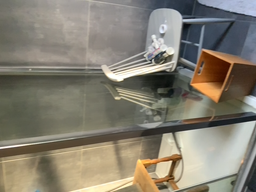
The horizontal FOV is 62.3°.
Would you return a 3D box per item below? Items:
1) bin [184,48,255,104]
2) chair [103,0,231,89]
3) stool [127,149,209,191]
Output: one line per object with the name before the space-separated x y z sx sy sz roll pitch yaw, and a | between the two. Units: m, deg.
bin | 0.610 -0.140 1.390 0.320 0.280 0.260 -136 49 -55
chair | 0.260 -0.370 1.560 0.400 0.760 0.510 41 129 56
stool | 0.320 0.800 1.860 0.450 0.470 0.380 46 133 54
